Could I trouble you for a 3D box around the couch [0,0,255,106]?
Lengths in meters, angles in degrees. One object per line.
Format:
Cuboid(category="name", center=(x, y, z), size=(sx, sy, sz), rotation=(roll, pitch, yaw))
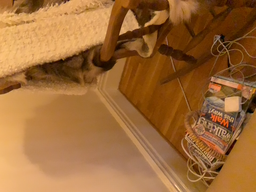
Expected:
Cuboid(category="couch", center=(-0.060, -0.430, 1.030), size=(0.840, 1.100, 0.630), rotation=(-44, 55, 46))
